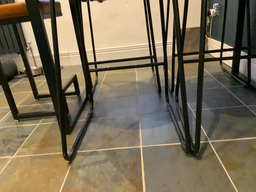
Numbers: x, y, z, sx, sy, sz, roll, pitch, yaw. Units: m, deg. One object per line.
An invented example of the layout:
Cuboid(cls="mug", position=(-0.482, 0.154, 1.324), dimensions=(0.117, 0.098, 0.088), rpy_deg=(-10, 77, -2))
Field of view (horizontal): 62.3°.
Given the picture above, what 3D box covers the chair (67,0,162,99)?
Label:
Cuboid(cls="chair", position=(-0.070, -0.540, 1.550), dimensions=(0.540, 0.970, 0.490), rpy_deg=(-4, 23, 5))
